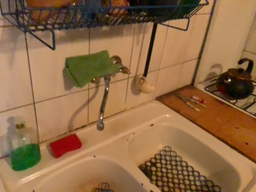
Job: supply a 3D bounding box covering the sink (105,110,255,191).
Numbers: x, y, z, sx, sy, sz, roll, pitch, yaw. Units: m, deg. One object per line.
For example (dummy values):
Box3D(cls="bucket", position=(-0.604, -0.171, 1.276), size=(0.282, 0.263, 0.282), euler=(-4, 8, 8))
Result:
Box3D(cls="sink", position=(0.210, 0.300, 0.870), size=(0.390, 0.160, 0.480), euler=(-19, 39, -38))
